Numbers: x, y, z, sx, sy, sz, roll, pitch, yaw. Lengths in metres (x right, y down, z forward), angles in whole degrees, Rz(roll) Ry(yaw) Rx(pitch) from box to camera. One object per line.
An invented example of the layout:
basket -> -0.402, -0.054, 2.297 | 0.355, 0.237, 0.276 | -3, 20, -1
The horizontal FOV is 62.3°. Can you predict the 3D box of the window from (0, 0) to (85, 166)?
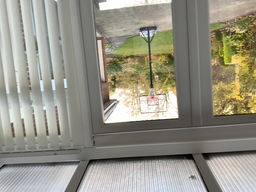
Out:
window -> -0.950, -0.280, 1.380 | 1.170, 1.530, 0.040 | -5, -174, 1
